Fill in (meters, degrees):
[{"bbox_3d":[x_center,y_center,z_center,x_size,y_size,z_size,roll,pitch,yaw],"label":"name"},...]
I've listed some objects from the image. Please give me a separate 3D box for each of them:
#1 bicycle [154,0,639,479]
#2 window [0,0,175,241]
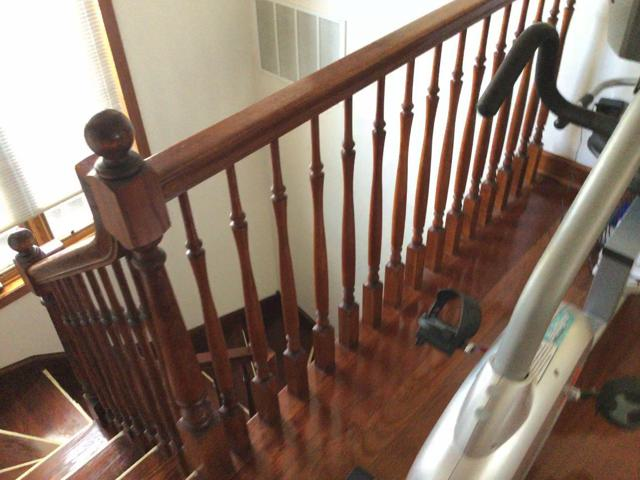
[{"bbox_3d":[0.700,-0.150,1.240,1.680,1.230,0.730,-31,39,-31],"label":"bicycle"},{"bbox_3d":[-1.270,-0.600,2.320,0.280,1.020,1.180,21,43,37],"label":"window"}]
